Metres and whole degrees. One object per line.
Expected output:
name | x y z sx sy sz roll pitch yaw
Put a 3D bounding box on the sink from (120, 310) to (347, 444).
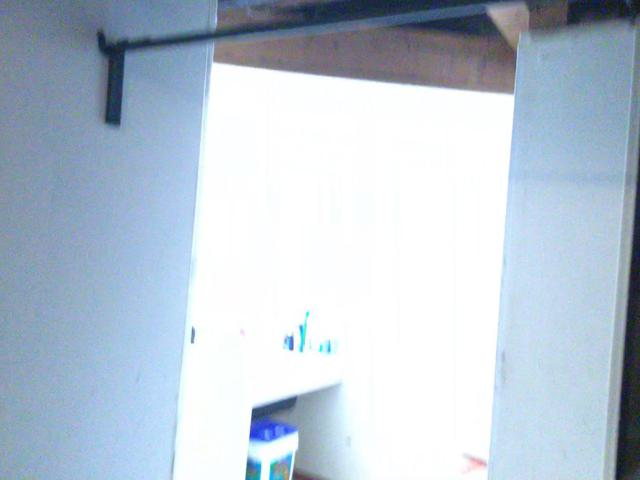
sink | -0.450 0.730 3.410 0.700 0.530 1.140 4 -3 33
